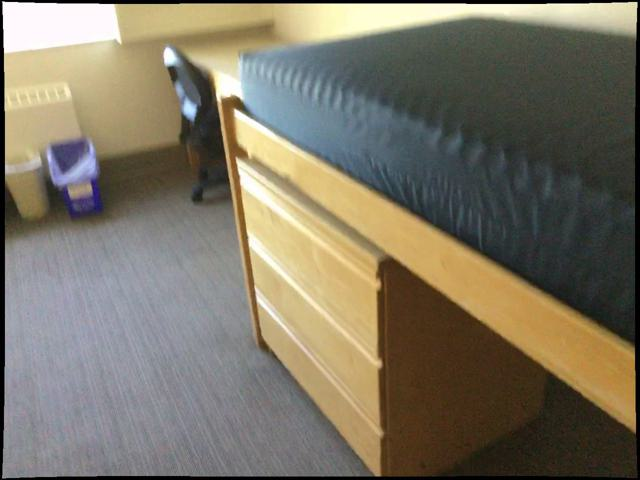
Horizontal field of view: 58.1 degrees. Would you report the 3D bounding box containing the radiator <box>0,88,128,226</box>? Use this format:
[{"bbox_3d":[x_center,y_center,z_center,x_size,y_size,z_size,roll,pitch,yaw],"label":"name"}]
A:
[{"bbox_3d":[-1.785,-0.441,3.350,1.138,0.631,0.170,-18,32,-21],"label":"radiator"}]
